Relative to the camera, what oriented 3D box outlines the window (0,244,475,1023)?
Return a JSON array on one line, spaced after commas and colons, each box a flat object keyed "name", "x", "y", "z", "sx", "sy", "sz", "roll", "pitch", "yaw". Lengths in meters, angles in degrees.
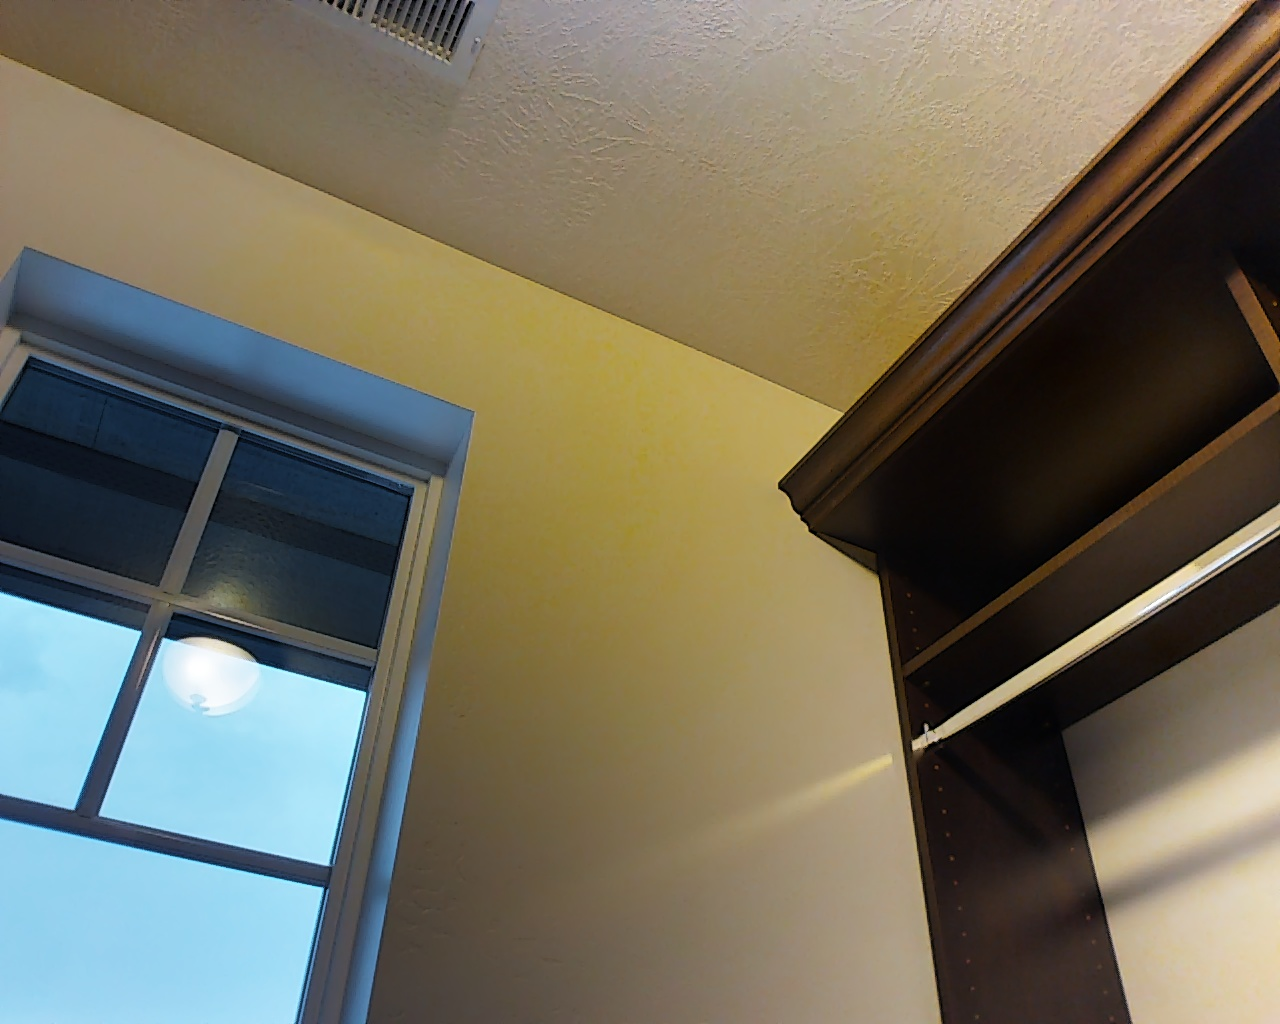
[{"name": "window", "x": -0.560, "y": 0.310, "z": 1.070, "sx": 0.580, "sy": 1.200, "sz": 0.280, "roll": 20, "pitch": -44, "yaw": -20}]
